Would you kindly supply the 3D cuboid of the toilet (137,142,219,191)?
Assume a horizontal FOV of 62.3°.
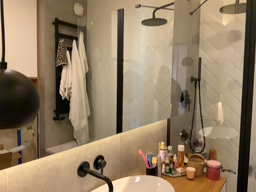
[{"bbox_3d":[0.340,0.450,1.400,0.390,0.130,0.430,4,5,35],"label":"toilet"}]
